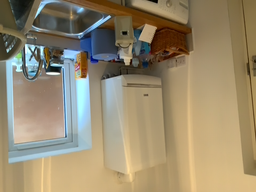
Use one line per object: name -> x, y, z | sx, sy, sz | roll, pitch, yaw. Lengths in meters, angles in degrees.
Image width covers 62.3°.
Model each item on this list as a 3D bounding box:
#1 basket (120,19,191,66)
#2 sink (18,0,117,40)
basket -> 0.230, -0.440, 1.870 | 0.370, 0.220, 0.490 | 0, 176, -40
sink -> -0.430, -0.590, 1.450 | 0.470, 0.190, 0.540 | 0, 176, -39
